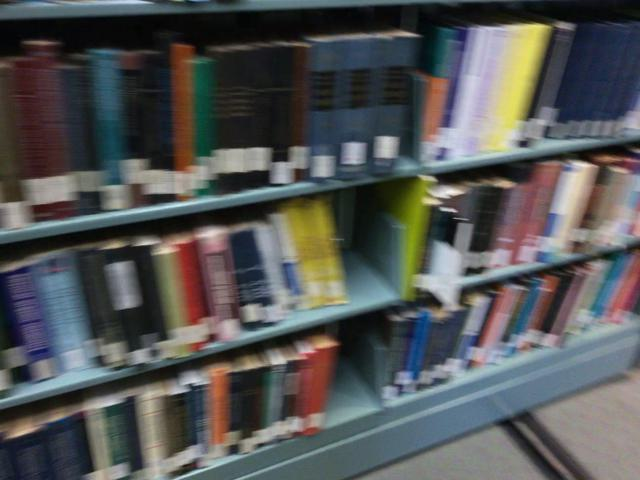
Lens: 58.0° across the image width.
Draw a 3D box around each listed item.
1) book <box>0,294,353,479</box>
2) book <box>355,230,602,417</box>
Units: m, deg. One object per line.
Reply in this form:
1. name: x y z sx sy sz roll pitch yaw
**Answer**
1. book: -0.290 0.400 1.190 0.750 0.390 0.090 -15 31 -20
2. book: 0.410 0.200 1.490 0.640 0.270 0.140 -15 31 -20
